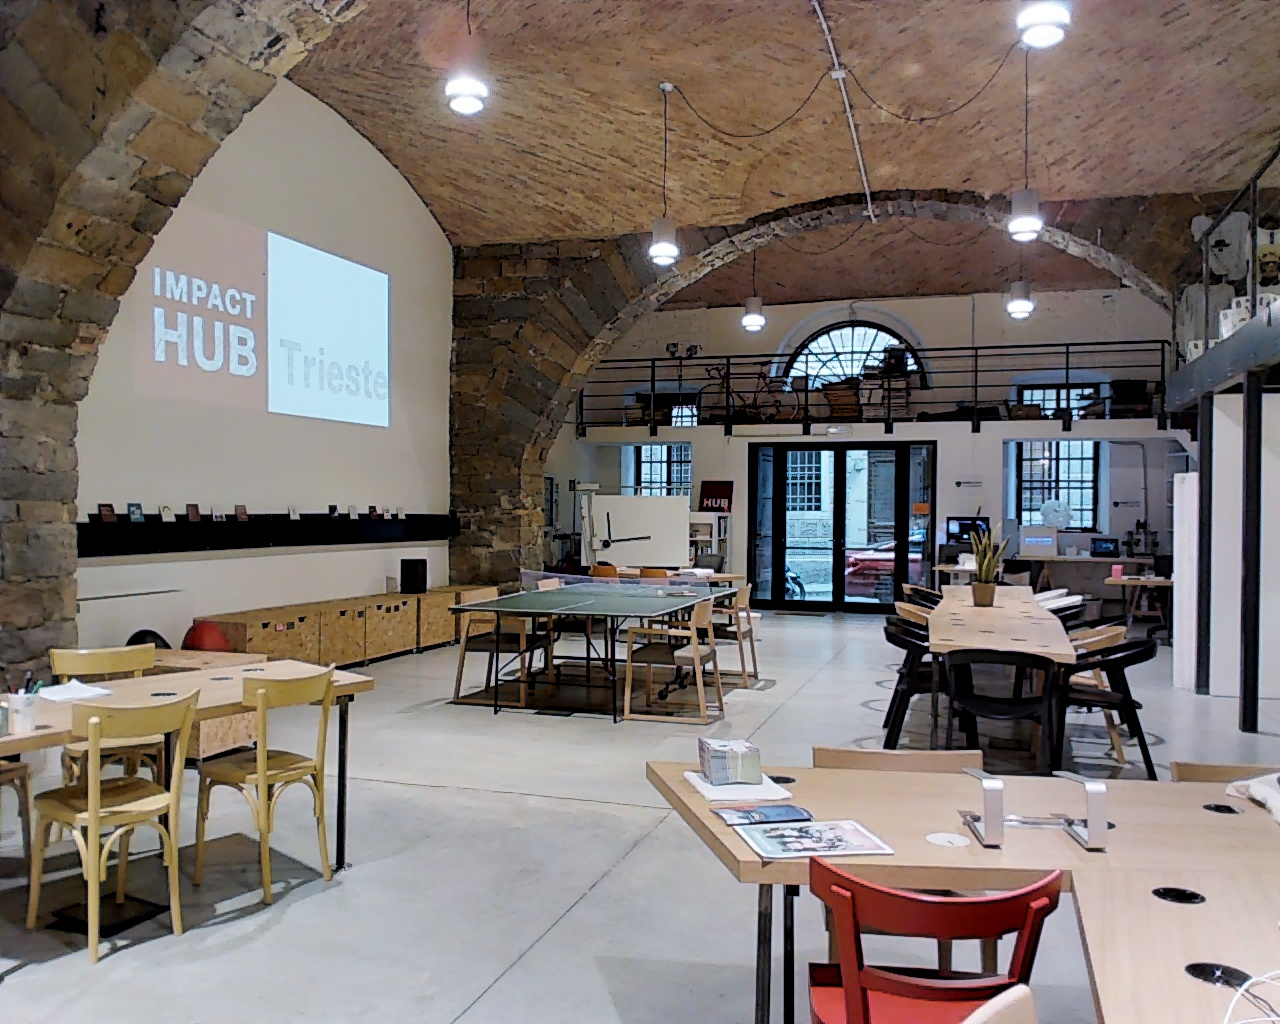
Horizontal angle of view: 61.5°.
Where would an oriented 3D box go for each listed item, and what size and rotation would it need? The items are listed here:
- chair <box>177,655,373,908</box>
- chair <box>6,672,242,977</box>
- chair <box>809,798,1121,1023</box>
[{"bbox_3d":[-1.430,1.020,4.240,0.520,0.820,0.510,1,0,30],"label":"chair"},{"bbox_3d":[-1.750,1.010,3.660,0.530,0.820,0.530,1,0,37],"label":"chair"},{"bbox_3d":[0.620,1.060,2.200,0.510,0.790,0.540,1,0,6],"label":"chair"}]
